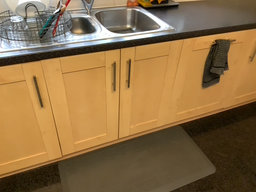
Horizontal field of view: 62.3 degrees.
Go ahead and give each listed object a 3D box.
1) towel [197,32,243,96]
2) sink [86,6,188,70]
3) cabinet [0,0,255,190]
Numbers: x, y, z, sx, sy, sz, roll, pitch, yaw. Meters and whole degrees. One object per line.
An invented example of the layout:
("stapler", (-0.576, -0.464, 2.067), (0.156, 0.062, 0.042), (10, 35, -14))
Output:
("towel", (0.620, -0.210, 1.460), (0.170, 0.430, 0.080), (-14, 42, -21))
("sink", (0.030, -0.430, 1.460), (0.490, 0.190, 0.530), (-13, 41, -21))
("cabinet", (-0.190, -0.090, 1.560), (3.250, 0.870, 0.620), (-13, 41, -21))
